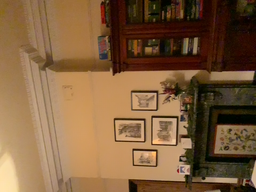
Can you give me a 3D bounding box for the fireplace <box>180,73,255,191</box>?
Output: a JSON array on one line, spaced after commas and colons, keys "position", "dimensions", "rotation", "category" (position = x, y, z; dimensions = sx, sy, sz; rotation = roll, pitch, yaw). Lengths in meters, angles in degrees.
[{"position": [1.550, 0.620, 3.310], "dimensions": [0.760, 1.220, 1.820], "rotation": [-75, -15, -67], "category": "fireplace"}]
